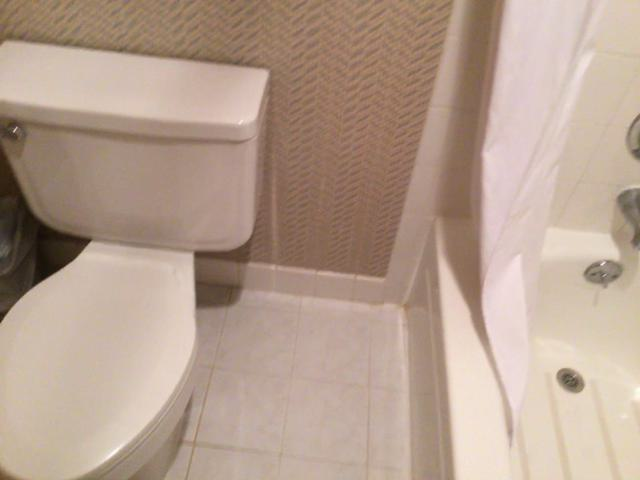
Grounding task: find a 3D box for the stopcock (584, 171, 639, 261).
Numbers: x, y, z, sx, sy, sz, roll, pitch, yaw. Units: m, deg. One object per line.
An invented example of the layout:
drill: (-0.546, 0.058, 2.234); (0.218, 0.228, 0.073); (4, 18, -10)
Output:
stopcock: (0.690, -0.050, 1.270); (0.130, 0.190, 0.090); (-1, 48, 0)
